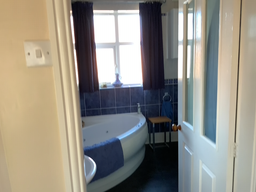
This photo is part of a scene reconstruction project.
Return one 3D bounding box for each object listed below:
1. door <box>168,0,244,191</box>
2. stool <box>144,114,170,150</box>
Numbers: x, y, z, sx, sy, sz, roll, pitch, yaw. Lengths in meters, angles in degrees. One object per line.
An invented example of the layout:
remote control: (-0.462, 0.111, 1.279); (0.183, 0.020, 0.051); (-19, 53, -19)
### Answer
door: (0.460, 0.200, 1.510); (0.100, 2.020, 0.830); (-3, 11, -6)
stool: (0.480, 0.590, 3.500); (0.360, 0.490, 0.280); (-3, 11, -6)
